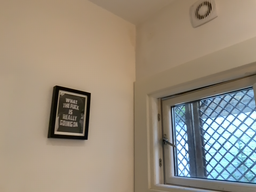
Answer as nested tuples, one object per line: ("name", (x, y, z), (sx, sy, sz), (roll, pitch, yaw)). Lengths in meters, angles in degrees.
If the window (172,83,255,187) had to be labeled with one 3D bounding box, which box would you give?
("window", (0.560, 0.260, 1.390), (0.070, 0.560, 0.610), (13, -19, -37))
